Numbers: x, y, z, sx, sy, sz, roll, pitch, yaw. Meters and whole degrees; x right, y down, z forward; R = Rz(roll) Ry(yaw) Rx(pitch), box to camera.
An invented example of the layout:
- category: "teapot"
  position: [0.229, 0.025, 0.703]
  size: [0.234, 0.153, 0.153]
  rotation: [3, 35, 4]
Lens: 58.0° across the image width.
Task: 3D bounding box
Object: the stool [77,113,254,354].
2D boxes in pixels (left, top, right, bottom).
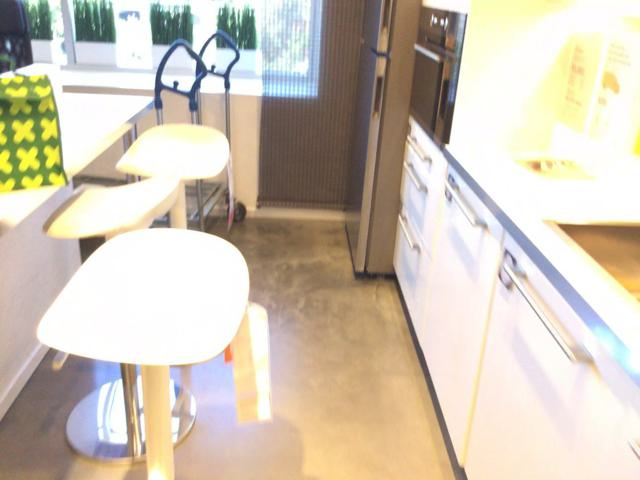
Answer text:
- category: "stool"
  position: [-0.550, -0.040, 2.270]
  size: [0.530, 0.830, 0.470]
  rotation: [0, 20, -2]

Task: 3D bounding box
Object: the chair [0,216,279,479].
- category: "chair"
  position: [-0.350, 0.440, 1.340]
  size: [0.440, 0.870, 0.460]
  rotation: [3, 20, 5]
